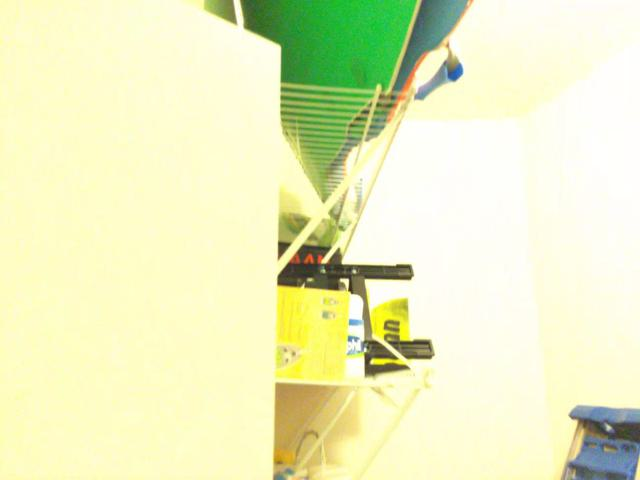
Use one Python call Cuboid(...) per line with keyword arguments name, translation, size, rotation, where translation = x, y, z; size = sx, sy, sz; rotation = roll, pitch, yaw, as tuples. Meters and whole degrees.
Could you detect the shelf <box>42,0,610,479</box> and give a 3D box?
Cuboid(name="shelf", translation=(0.000, 0.410, 1.200), size=(0.490, 1.310, 1.460), rotation=(0, -14, -1))
